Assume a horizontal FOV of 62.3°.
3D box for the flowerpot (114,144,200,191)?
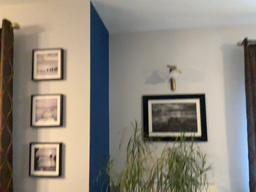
[{"bbox_3d":[0.330,1.150,2.080,0.680,1.230,0.680,-4,-6,23],"label":"flowerpot"}]
